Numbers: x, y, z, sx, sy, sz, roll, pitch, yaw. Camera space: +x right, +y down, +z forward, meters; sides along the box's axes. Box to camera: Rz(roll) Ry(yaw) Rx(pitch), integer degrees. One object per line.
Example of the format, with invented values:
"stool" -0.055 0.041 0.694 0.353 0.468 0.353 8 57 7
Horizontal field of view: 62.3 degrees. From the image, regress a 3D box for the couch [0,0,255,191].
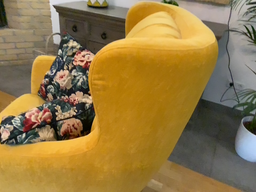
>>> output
"couch" -0.230 0.100 1.070 0.990 1.050 0.850 7 31 2
